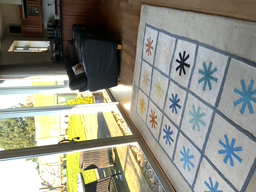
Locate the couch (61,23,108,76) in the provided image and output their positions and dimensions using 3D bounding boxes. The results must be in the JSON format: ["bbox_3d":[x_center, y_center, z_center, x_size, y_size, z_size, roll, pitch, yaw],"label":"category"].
[{"bbox_3d":[-1.020,-1.070,4.790,0.910,0.860,0.960,-129,40,-58],"label":"couch"}]

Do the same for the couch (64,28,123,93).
[{"bbox_3d":[-0.690,-0.690,3.940,0.920,0.860,0.930,-129,40,-58],"label":"couch"}]
